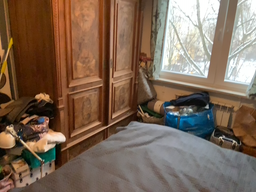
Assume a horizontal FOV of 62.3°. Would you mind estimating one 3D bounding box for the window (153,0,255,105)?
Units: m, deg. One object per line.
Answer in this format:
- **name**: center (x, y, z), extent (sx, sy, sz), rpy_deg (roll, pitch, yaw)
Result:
- **window**: center (1.070, -0.790, 2.570), extent (1.470, 1.590, 0.130), rpy_deg (14, 21, 30)
